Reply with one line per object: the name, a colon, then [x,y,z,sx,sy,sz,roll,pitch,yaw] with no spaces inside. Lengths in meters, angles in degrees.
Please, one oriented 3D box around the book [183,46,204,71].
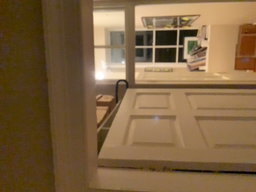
book: [1.240,-0.720,4.030,0.230,0.320,0.450,-66,-24,-74]
